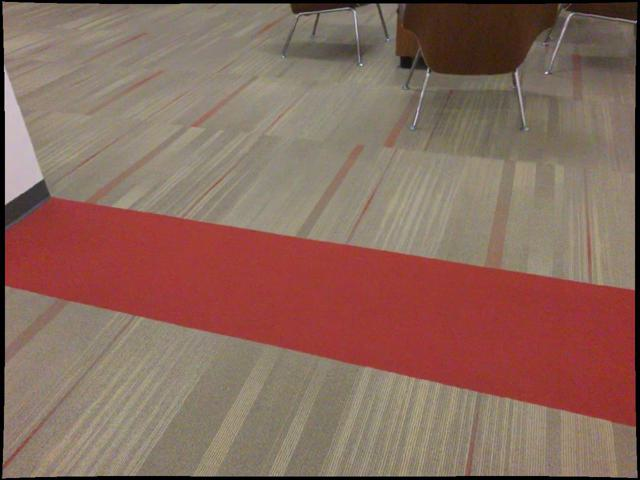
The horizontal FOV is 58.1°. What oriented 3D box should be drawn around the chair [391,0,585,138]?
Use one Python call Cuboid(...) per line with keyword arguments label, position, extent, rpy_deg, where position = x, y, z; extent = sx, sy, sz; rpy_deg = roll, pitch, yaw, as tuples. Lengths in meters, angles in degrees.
Cuboid(label="chair", position=(0.838, -1.103, 3.180), extent=(0.878, 0.771, 0.831), rpy_deg=(0, 35, 7))
